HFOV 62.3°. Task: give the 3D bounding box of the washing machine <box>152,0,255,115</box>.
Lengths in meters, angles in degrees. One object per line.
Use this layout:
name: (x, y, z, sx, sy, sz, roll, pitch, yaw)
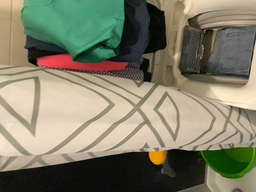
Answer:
washing machine: (0.600, -0.180, 0.950, 0.460, 0.830, 0.420, 18, 103, 56)
